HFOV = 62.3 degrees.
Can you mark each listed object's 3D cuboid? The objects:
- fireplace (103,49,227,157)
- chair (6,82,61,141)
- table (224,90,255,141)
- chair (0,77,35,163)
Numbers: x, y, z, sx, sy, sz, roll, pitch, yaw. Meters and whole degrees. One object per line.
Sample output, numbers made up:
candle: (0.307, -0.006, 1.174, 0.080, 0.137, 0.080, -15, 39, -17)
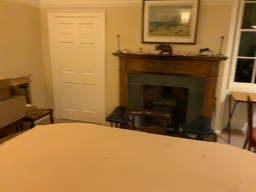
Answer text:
fireplace: (0.600, -0.050, 3.550, 1.580, 1.320, 1.380, 5, 16, 15)
chair: (-1.490, 0.220, 3.400, 0.590, 0.790, 0.440, 6, 16, 18)
table: (2.030, 0.320, 3.540, 0.630, 0.680, 0.510, 5, 16, 15)
chair: (-1.710, 0.280, 2.880, 0.500, 0.970, 0.570, 6, 16, 18)
